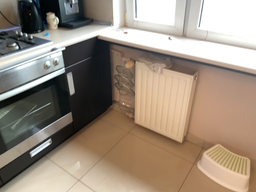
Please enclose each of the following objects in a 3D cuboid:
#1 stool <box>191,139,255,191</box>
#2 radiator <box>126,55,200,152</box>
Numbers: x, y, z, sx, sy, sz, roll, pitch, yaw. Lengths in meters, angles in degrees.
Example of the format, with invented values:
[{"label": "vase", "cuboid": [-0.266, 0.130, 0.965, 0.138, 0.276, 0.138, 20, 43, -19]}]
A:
[{"label": "stool", "cuboid": [0.680, 0.500, 1.510, 0.350, 0.120, 0.260, 26, 40, 34]}, {"label": "radiator", "cuboid": [0.240, 0.060, 1.750, 0.550, 0.660, 0.130, 23, 38, 31]}]
